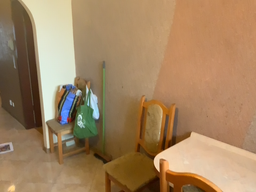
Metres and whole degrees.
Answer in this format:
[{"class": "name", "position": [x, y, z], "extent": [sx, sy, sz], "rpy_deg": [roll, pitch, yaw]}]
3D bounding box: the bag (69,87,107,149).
[{"class": "bag", "position": [-0.480, 0.250, 2.590], "extent": [0.330, 0.640, 0.280], "rpy_deg": [-13, 21, -41]}]
